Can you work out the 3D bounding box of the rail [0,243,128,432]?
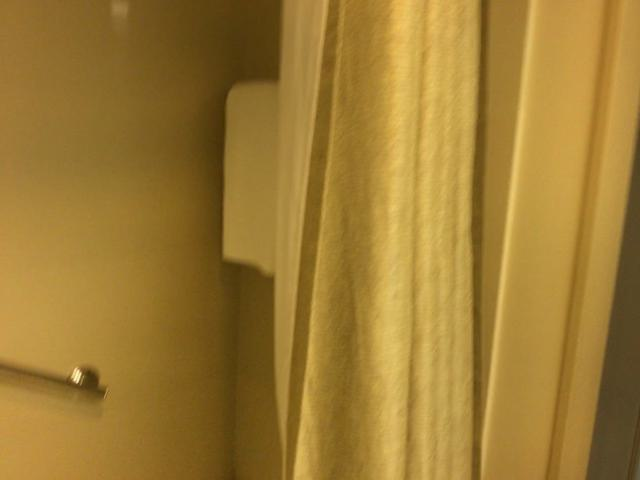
[{"bbox_3d":[-0.700,0.220,1.180,0.600,0.360,0.070,-8,14,-43],"label":"rail"}]
